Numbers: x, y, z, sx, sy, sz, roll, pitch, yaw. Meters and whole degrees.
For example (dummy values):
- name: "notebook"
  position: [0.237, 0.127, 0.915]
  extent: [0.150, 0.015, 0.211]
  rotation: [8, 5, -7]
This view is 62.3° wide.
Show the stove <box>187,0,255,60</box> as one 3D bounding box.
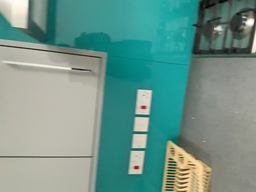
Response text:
- name: "stove"
  position: [0.450, -0.460, 0.920]
  extent: [0.540, 0.030, 0.590]
  rotation: [-143, 58, -73]
